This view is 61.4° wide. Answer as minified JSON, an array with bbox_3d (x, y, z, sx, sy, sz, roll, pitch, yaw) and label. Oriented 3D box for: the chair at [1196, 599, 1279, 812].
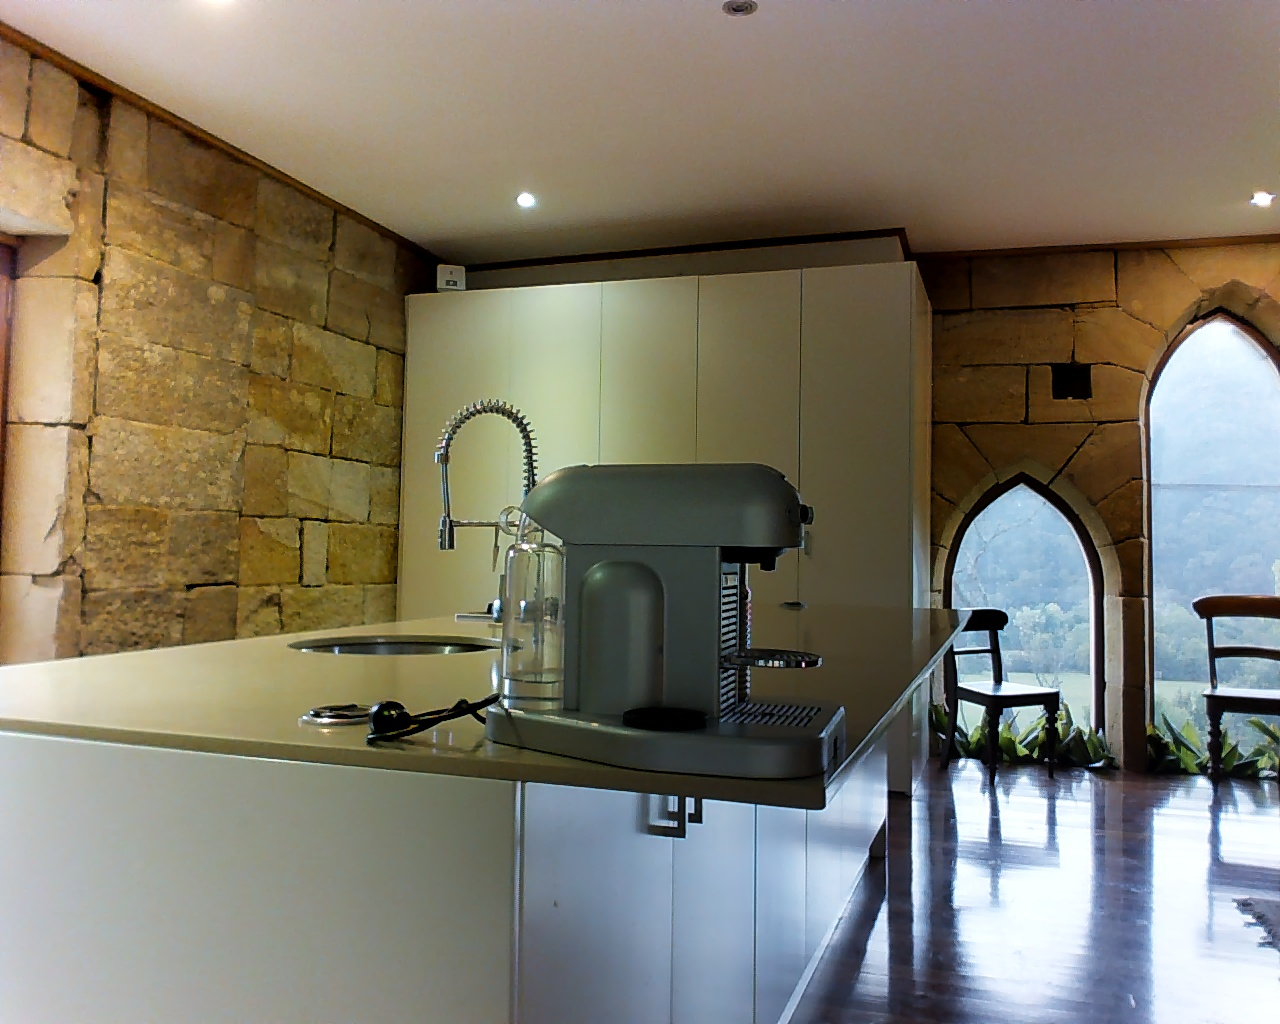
[{"bbox_3d":[2.919,0.890,5.110,0.480,0.920,0.560,0,-2,25],"label":"chair"}]
